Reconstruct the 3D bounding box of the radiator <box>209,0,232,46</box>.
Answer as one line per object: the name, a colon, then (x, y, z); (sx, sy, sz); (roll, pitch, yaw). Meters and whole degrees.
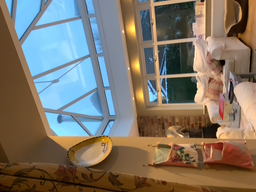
radiator: (1.720, -1.490, 3.950); (0.160, 0.350, 1.040); (-65, -30, -62)
